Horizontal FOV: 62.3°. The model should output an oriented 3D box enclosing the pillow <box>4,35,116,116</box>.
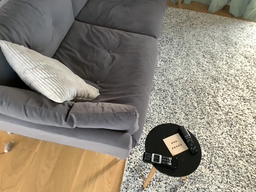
[{"bbox_3d":[-0.350,-0.100,1.110,0.360,0.430,0.170,14,72,48],"label":"pillow"}]
